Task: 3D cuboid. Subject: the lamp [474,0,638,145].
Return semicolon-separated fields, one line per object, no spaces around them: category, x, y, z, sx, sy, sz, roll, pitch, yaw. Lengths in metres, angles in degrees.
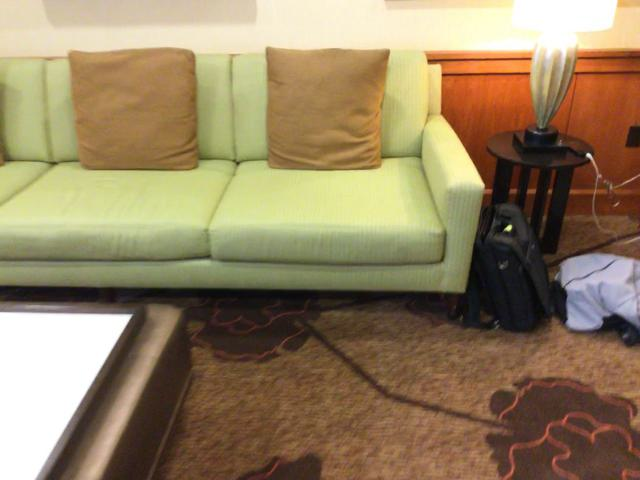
lamp;0.890;-0.750;2.240;0.440;0.670;0.360;3;24;4
